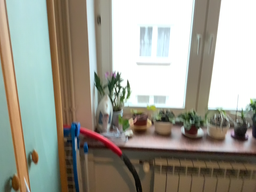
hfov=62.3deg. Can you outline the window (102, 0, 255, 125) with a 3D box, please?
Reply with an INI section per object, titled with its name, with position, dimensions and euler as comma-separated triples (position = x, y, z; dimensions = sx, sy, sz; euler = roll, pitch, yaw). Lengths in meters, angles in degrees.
[window]
position = 0.540, -0.510, 1.460
dimensions = 1.420, 1.490, 0.110
euler = 1, 17, -1
